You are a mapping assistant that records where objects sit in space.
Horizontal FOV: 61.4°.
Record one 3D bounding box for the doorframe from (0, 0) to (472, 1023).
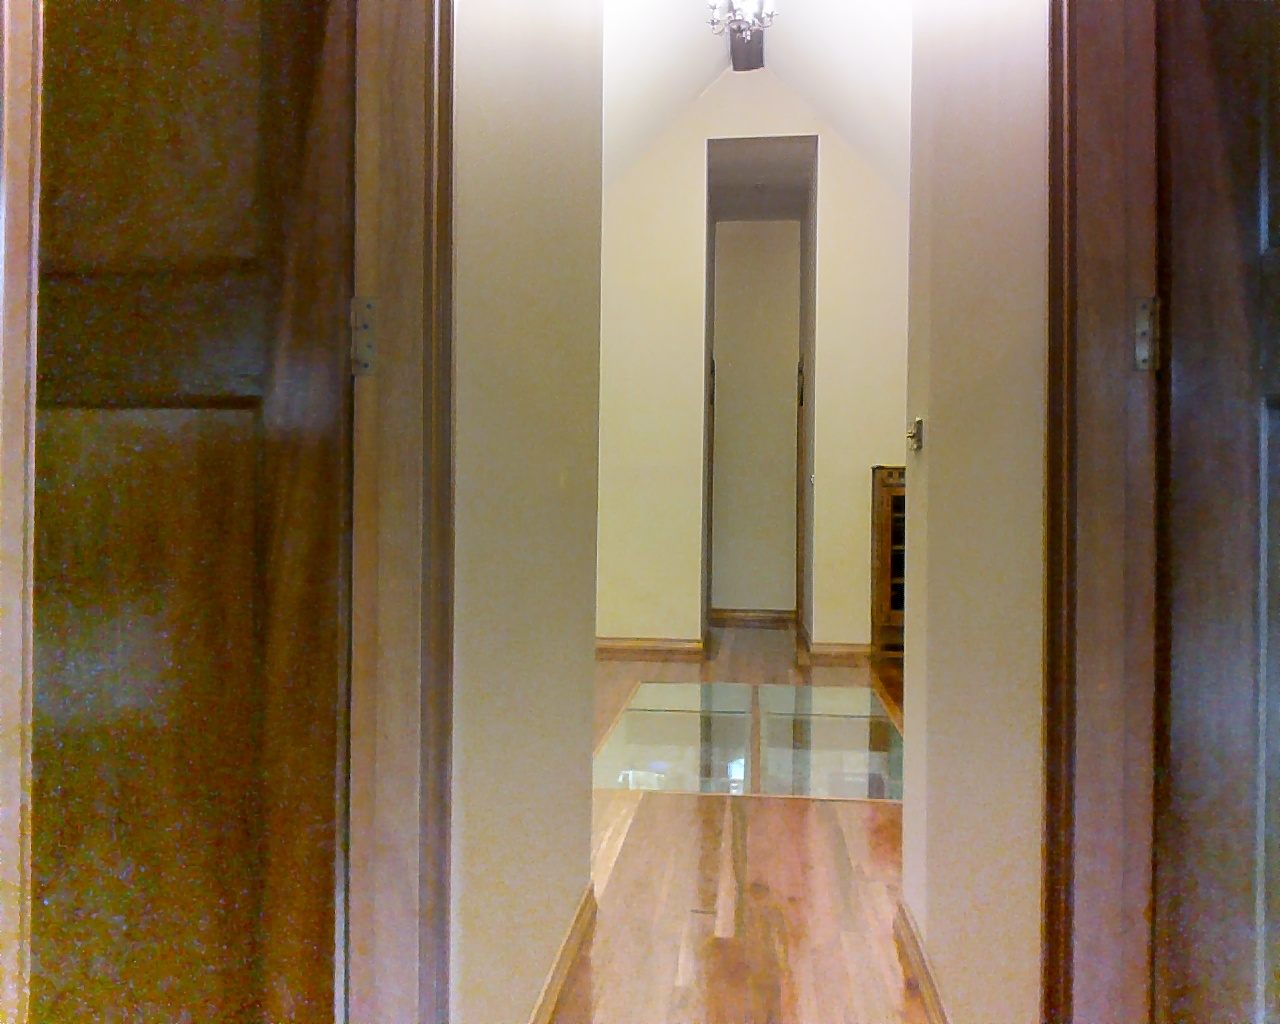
[{"bbox_3d":[-0.320,-0.100,1.000,0.060,2.401,0.970,1,0,6],"label":"doorframe"}]
